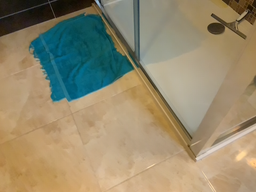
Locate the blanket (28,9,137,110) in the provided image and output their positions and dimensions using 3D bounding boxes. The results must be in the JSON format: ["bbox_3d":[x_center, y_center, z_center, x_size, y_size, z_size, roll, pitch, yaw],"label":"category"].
[{"bbox_3d":[-0.340,-0.300,1.430,0.540,0.010,0.730,-22,59,-11],"label":"blanket"}]
